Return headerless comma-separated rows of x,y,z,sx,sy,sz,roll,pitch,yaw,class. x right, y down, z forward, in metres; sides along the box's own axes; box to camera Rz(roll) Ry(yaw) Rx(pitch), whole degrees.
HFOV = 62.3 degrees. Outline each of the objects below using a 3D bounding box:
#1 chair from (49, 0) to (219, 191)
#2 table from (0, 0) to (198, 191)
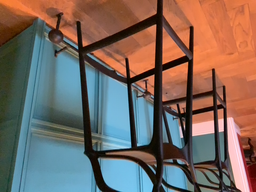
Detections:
0.020,0.030,1.010,0.530,0.890,0.450,-17,154,30,chair
-0.110,0.440,1.680,0.620,1.110,2.140,-16,154,29,table
